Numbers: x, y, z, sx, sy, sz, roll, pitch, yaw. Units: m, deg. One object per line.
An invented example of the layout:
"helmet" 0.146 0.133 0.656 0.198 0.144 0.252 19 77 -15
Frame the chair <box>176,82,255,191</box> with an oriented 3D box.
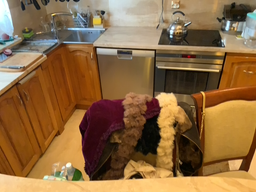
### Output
"chair" 0.610 0.510 1.150 0.420 0.990 0.570 -8 34 -9
